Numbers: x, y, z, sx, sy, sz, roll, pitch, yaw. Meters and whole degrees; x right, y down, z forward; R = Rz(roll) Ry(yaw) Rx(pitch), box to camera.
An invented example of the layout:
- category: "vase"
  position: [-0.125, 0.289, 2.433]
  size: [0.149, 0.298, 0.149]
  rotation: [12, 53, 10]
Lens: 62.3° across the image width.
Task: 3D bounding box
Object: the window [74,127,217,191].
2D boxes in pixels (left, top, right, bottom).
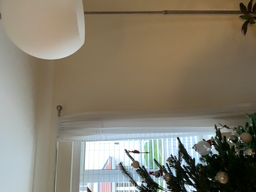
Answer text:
- category: "window"
  position: [0.160, 0.700, 1.940]
  size: [0.040, 1.270, 0.810]
  rotation: [95, 174, -74]
